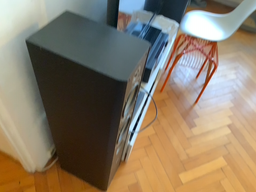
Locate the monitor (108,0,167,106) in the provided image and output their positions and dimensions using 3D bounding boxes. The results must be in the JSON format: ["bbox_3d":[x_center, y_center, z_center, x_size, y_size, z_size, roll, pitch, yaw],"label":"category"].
[{"bbox_3d":[0.120,-0.480,1.270,0.060,0.710,0.890,22,51,7],"label":"monitor"}]

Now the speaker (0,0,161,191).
[{"bbox_3d":[-0.210,0.130,1.030,0.450,0.990,0.230,21,51,7],"label":"speaker"}]

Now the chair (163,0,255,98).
[{"bbox_3d":[0.730,-0.500,1.850,0.560,0.820,0.480,19,51,5],"label":"chair"}]

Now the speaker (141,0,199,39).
[{"bbox_3d":[0.390,-0.870,1.730,0.400,0.700,0.200,19,51,5],"label":"speaker"}]
